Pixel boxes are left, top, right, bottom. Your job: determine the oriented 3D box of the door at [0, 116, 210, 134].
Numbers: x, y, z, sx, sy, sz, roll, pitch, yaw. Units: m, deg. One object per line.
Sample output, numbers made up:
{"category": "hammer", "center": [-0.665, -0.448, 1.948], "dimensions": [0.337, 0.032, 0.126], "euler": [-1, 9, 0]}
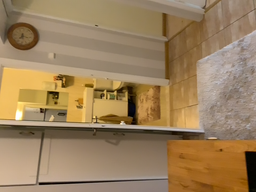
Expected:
{"category": "door", "center": [-0.310, 0.290, 2.140], "dimensions": [0.750, 2.180, 0.070], "euler": [167, 107, -69]}
